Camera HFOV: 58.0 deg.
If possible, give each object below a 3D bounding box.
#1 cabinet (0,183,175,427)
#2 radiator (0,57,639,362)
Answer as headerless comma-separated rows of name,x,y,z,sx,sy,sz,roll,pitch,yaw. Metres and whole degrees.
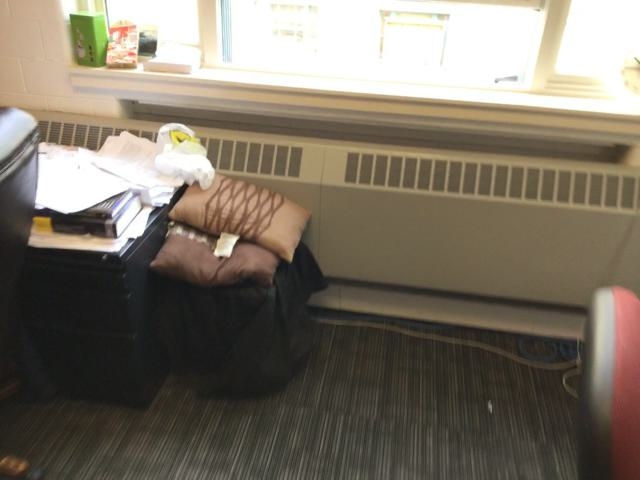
cabinet,-0.720,0.200,1.820,0.410,0.630,0.350,7,26,2
radiator,0.010,-0.120,2.100,3.080,0.750,0.370,7,26,2
